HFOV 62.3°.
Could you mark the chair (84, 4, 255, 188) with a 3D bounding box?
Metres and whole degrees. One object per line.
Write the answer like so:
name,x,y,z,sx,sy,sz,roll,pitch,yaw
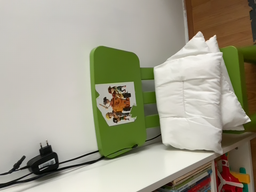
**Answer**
chair,0.240,-0.010,0.790,0.390,0.660,0.370,-4,90,48
